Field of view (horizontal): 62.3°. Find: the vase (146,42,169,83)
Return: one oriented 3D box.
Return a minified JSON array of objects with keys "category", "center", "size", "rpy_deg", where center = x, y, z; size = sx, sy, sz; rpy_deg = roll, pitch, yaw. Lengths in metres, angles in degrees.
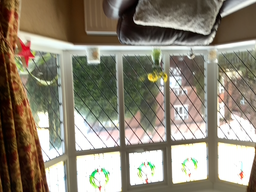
[{"category":"vase","center":[0.350,-0.390,2.540],"size":[0.210,0.470,0.160],"rpy_deg":[-3,-176,-14]}]
